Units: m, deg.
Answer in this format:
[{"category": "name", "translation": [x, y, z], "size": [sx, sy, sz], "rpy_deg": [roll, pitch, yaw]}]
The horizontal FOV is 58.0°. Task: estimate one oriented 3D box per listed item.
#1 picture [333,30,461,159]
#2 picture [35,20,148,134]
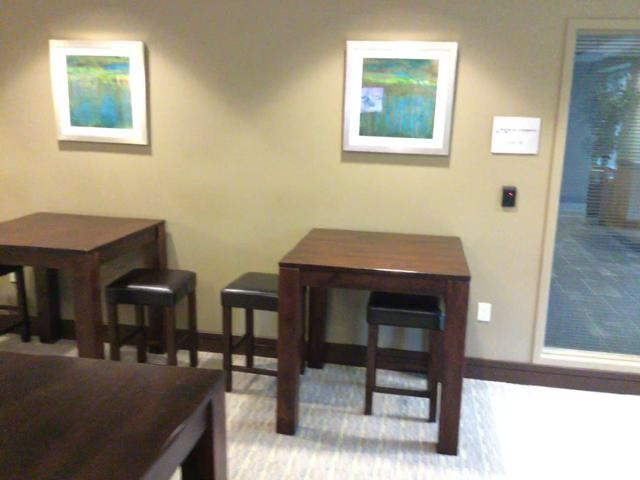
[{"category": "picture", "translation": [0.430, -0.830, 3.320], "size": [0.660, 0.670, 0.140], "rpy_deg": [5, 12, 6]}, {"category": "picture", "translation": [-1.390, -0.990, 3.540], "size": [0.650, 0.630, 0.130], "rpy_deg": [5, 12, 6]}]
